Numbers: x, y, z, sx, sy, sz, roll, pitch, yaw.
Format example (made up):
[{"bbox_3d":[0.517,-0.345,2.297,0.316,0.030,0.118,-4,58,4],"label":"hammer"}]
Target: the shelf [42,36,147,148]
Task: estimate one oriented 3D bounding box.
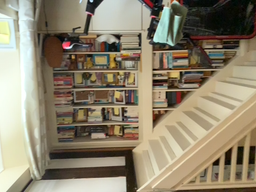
[{"bbox_3d":[-0.420,-0.040,2.960,1.350,1.500,0.240,-1,-170,-2],"label":"shelf"}]
